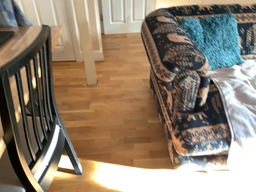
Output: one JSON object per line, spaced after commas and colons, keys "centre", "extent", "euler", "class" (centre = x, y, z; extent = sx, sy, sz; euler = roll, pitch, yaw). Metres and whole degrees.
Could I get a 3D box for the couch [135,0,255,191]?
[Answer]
{"centre": [1.350, -0.200, 1.630], "extent": [2.470, 0.750, 1.390], "euler": [-3, 37, -3], "class": "couch"}
